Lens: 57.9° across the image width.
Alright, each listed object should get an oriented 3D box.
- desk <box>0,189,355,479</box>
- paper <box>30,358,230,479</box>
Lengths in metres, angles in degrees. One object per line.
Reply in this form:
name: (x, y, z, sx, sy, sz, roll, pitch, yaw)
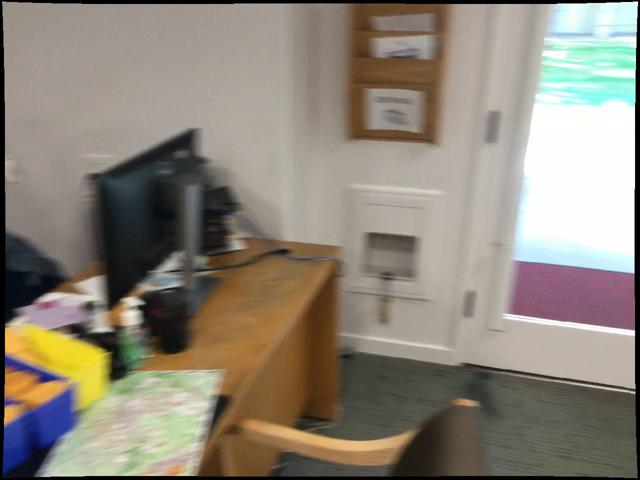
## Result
desk: (-0.519, 0.581, 1.550, 0.829, 0.831, 1.760, 5, 26, 16)
paper: (-0.370, 0.390, 1.160, 0.320, 0.020, 0.450, -3, 25, 1)
